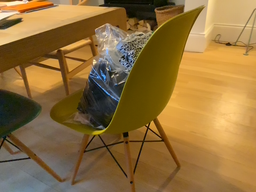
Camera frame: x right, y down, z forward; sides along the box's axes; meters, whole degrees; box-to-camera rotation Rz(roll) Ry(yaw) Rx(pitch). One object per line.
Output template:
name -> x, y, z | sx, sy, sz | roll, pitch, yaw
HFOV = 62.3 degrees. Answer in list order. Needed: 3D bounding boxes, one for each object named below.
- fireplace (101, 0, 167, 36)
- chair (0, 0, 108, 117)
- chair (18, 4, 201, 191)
fireplace -> 0.080, -1.360, 2.990 | 0.840, 0.810, 0.430 | 17, 37, 27
chair -> -0.560, -0.390, 1.640 | 0.500, 0.800, 0.580 | -28, 41, -35
chair -> -0.040, 0.080, 0.880 | 0.430, 0.770, 0.390 | 20, 38, 30
